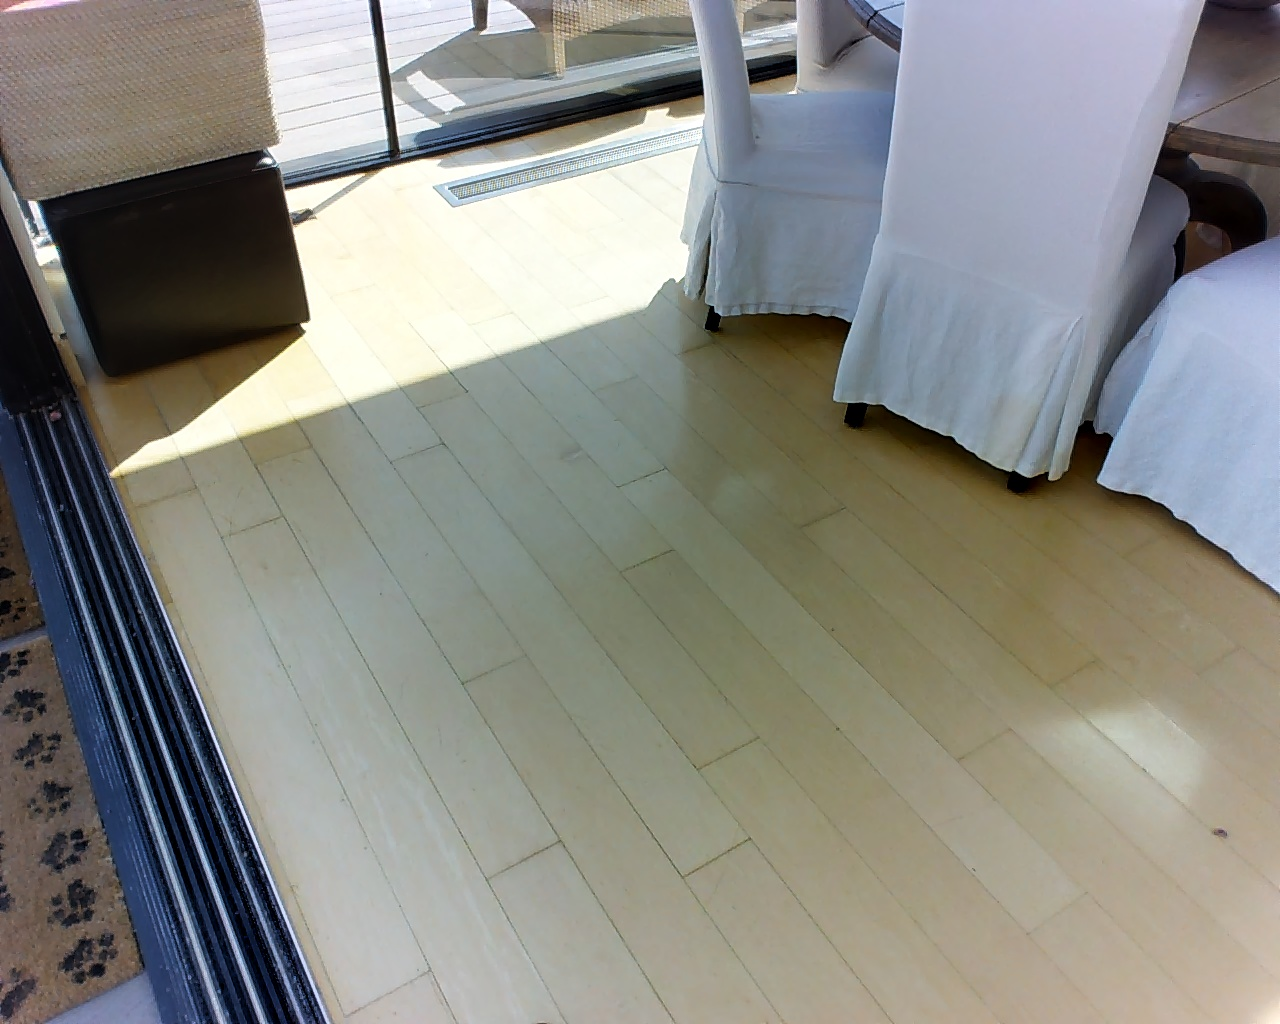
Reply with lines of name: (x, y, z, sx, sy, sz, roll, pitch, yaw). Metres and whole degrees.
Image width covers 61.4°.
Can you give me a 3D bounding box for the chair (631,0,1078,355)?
chair: (0.430, -0.970, 2.520, 0.870, 1.050, 0.530, 2, 42, 1)
